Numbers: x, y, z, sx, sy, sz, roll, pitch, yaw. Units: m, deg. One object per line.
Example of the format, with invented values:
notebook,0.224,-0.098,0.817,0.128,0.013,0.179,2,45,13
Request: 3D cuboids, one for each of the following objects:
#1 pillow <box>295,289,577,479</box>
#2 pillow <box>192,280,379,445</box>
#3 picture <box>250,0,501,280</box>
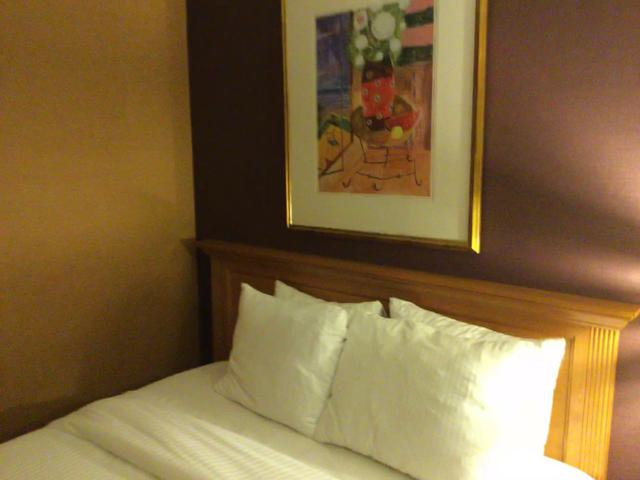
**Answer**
pillow,0.310,0.390,1.630,0.660,0.380,0.390,5,7,39
pillow,-0.130,0.360,1.880,0.590,0.370,0.250,5,7,39
picture,0.130,-0.400,1.920,0.880,0.960,0.140,5,7,39
